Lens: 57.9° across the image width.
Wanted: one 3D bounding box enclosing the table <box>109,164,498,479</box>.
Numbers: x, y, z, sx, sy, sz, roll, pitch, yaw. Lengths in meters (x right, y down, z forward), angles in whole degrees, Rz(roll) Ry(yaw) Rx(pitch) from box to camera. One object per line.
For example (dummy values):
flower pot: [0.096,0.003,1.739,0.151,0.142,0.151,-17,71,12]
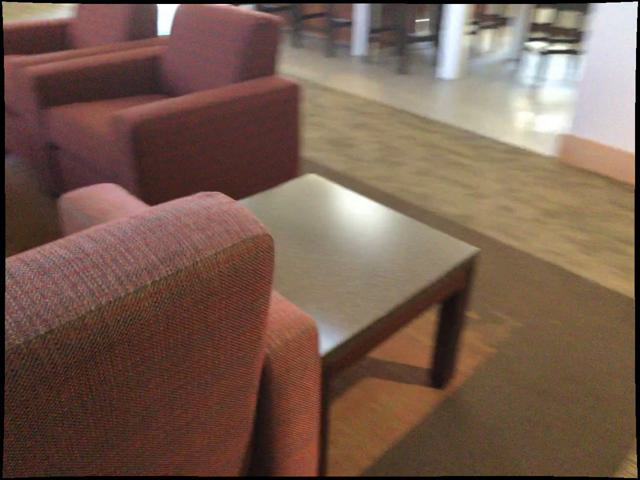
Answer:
table: [-0.040,0.210,1.560,0.660,0.460,0.710,29,41,36]
